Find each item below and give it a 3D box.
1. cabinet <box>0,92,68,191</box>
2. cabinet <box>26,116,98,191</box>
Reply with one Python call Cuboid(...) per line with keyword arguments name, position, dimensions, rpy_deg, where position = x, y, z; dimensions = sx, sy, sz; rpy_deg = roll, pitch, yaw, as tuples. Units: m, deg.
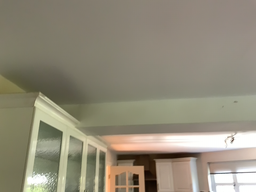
Cuboid(name="cabinet", position=(-0.690, 0.670, 1.370), dimensions=(0.280, 1.250, 0.590), rpy_deg=(-3, -21, 6))
Cuboid(name="cabinet", position=(-0.590, 0.760, 2.160), dimensions=(0.310, 0.860, 0.980), rpy_deg=(-3, -21, 6))
